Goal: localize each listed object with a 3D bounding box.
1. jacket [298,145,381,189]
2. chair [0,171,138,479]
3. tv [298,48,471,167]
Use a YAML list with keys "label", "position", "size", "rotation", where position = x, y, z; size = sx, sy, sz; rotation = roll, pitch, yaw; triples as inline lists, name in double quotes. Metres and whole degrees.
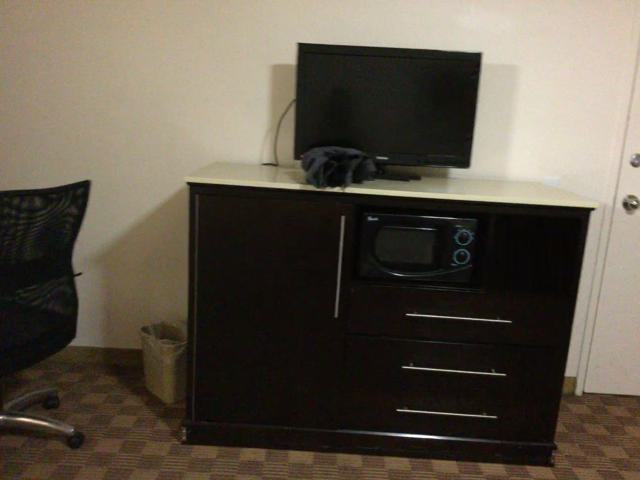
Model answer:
- label: "jacket"
  position: [0.070, -0.280, 2.170]
  size: [0.290, 0.140, 0.270]
  rotation: [1, 11, 0]
- label: "chair"
  position: [-1.160, 0.300, 2.130]
  size: [0.630, 1.030, 0.620]
  rotation: [6, 13, 25]
- label: "tv"
  position: [0.260, -0.560, 2.470]
  size: [0.700, 0.470, 0.150]
  rotation: [1, 11, 0]
